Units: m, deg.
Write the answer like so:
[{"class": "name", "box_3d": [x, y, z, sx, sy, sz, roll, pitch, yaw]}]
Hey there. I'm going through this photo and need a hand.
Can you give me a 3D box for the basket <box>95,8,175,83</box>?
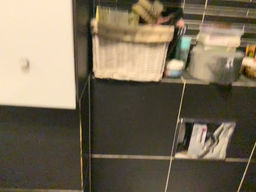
[{"class": "basket", "box_3d": [0.010, -0.160, 0.660, 0.210, 0.190, 0.150, 2, 24, -3]}]
